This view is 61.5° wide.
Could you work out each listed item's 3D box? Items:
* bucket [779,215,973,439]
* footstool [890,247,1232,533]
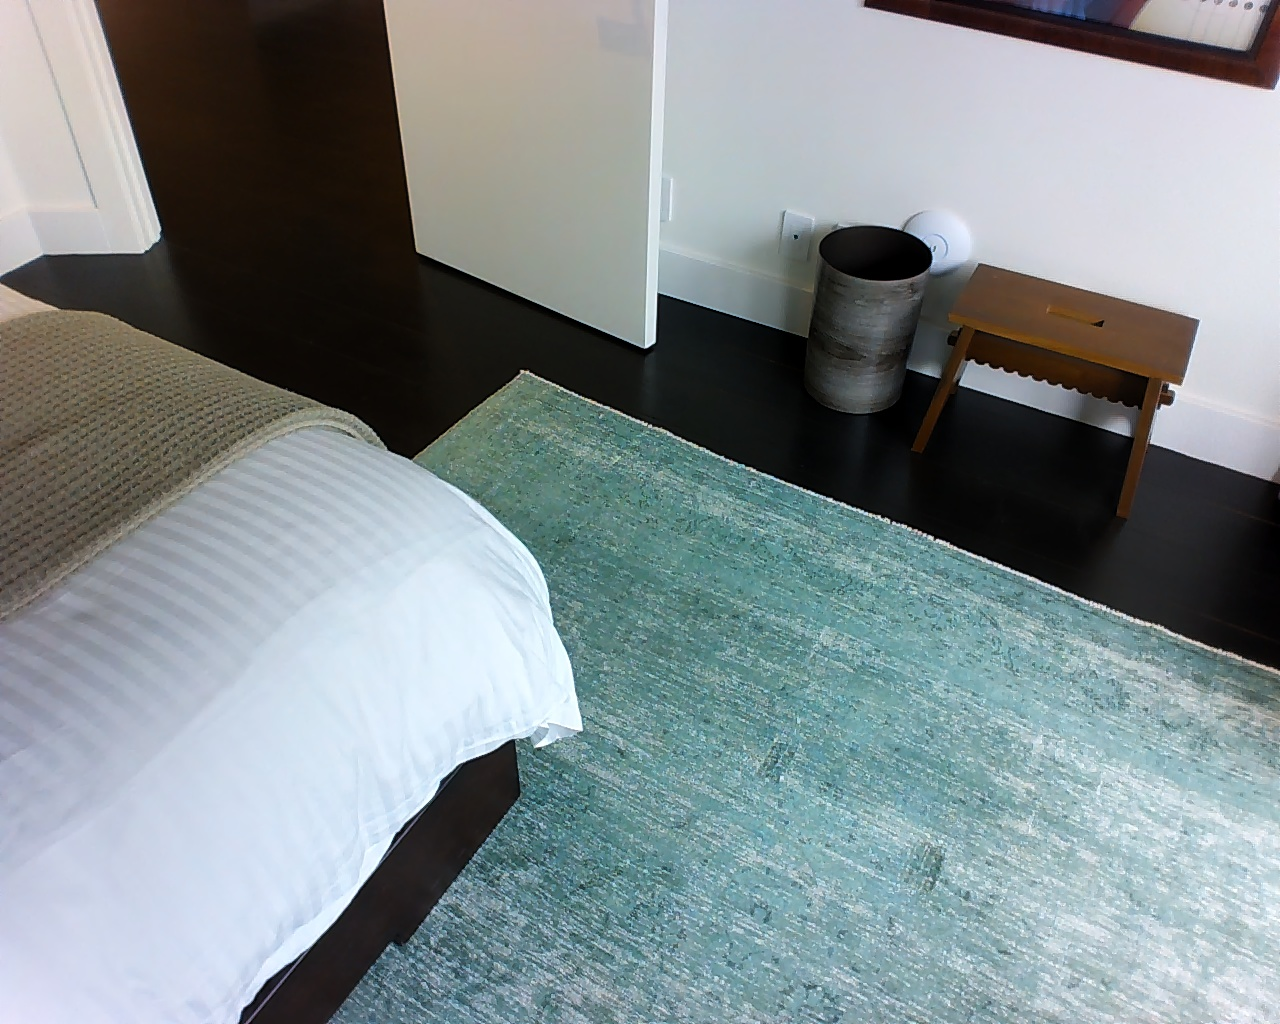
[{"bbox_3d":[0.550,-0.440,2.540,0.320,0.360,0.280,21,46,21],"label":"bucket"},{"bbox_3d":[0.910,-0.280,2.370,0.570,0.360,0.330,21,46,21],"label":"footstool"}]
